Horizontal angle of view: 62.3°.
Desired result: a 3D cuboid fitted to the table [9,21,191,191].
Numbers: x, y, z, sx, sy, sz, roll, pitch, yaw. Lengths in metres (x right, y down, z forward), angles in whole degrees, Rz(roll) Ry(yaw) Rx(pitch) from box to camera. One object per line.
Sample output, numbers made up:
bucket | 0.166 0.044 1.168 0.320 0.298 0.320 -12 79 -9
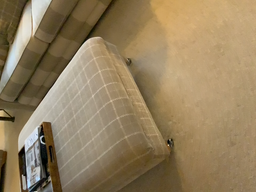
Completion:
table | -0.330 0.280 1.350 1.140 0.380 0.790 -44 54 30
